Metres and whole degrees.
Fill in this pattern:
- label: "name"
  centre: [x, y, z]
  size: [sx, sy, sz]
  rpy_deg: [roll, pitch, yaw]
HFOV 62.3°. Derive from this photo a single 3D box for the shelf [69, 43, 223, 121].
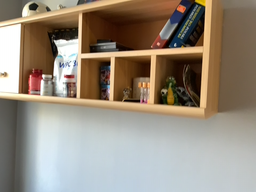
- label: "shelf"
  centre: [0.060, -0.050, 0.780]
  size: [0.490, 0.200, 0.260]
  rpy_deg: [4, 2, 30]
